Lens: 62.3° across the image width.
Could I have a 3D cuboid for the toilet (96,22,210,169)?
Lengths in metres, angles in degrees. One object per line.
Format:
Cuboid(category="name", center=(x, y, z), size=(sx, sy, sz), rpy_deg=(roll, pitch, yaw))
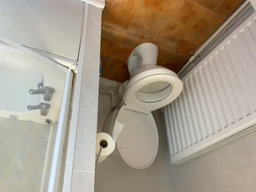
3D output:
Cuboid(category="toilet", center=(0.110, 0.030, 1.600), size=(0.470, 0.820, 0.630), rpy_deg=(14, 143, -23))
